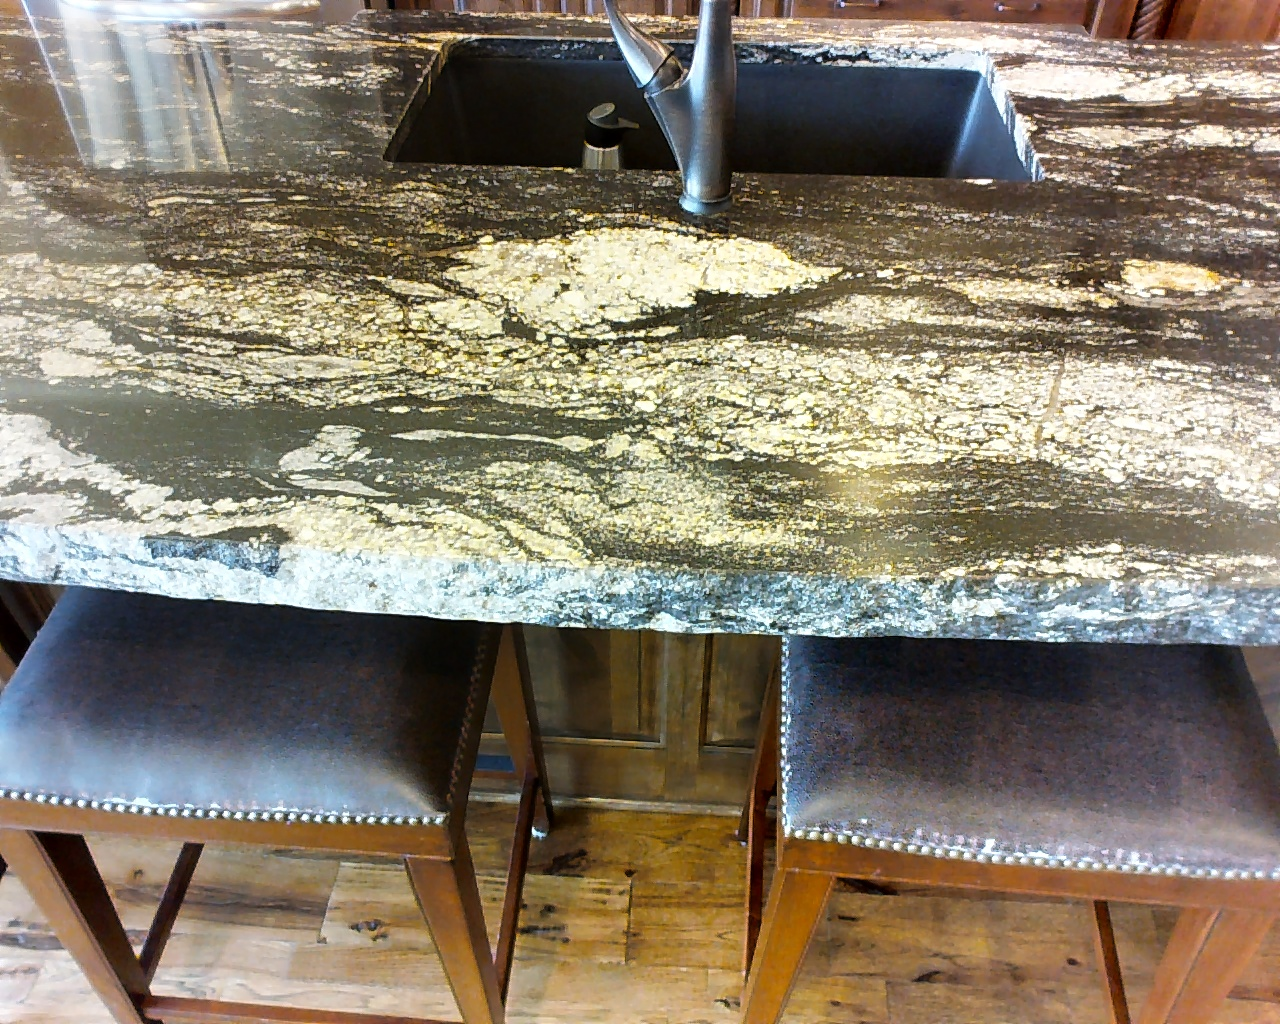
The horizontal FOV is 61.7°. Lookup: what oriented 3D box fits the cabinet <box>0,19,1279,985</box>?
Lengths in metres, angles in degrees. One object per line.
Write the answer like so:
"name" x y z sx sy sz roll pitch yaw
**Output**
"cabinet" 0.090 -0.050 1.560 3.030 0.900 0.990 2 44 3
